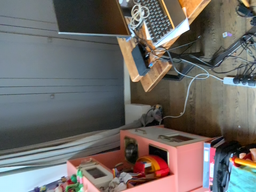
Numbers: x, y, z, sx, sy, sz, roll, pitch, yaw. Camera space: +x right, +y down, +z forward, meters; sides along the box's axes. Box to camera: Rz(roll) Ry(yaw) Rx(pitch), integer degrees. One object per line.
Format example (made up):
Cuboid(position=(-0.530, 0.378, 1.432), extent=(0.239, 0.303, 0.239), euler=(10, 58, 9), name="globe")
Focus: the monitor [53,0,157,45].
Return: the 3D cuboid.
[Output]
Cuboid(position=(-0.130, -0.500, 1.040), extent=(0.040, 0.470, 0.520), euler=(-46, 51, 49), name="monitor")
